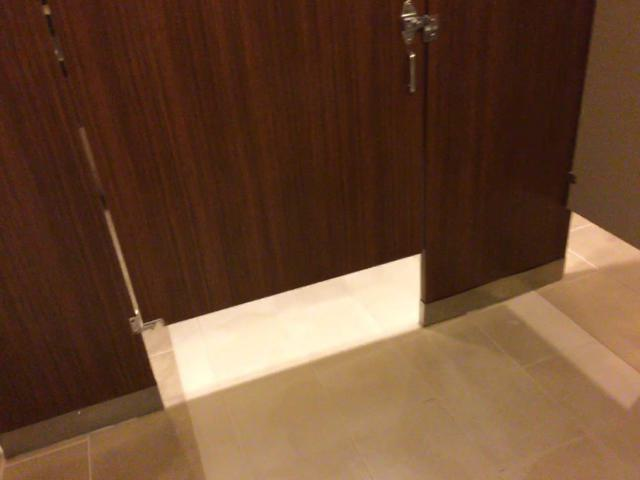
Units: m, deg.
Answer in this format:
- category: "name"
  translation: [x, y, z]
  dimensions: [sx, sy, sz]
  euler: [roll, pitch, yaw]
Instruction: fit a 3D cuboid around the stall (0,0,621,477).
- category: "stall"
  translation: [-0.060, -0.210, 1.610]
  dimensions: [2.010, 1.380, 0.120]
  euler: [-16, 30, -14]
